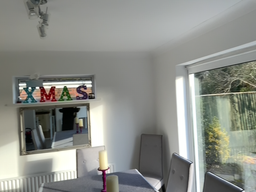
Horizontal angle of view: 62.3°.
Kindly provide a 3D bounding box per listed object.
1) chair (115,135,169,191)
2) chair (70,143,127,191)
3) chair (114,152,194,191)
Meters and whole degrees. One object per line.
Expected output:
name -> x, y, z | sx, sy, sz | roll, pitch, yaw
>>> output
chair -> 0.230, 1.140, 3.120 | 0.510, 0.990, 0.630 | -3, 1, 33
chair -> -0.350, 1.150, 2.470 | 0.500, 1.010, 0.620 | -3, 0, -22
chair -> 0.240, 1.130, 2.020 | 0.620, 1.010, 0.450 | -3, 0, -15
